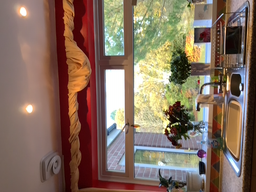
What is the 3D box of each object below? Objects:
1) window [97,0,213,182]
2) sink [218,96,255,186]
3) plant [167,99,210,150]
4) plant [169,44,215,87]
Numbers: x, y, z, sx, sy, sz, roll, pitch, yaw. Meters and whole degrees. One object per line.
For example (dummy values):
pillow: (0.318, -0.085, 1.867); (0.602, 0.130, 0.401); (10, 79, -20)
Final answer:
window: (0.250, -0.360, 2.140); (0.080, 1.100, 2.480); (-35, -55, -76)
sink: (0.790, 0.270, 1.500); (0.530, 0.160, 0.470); (-31, -59, -77)
plant: (0.550, 0.250, 1.980); (0.310, 0.350, 0.390); (-33, -57, -76)
plant: (0.550, -0.270, 1.890); (0.270, 0.360, 0.350); (-39, -51, -75)
